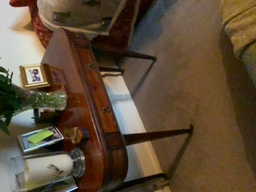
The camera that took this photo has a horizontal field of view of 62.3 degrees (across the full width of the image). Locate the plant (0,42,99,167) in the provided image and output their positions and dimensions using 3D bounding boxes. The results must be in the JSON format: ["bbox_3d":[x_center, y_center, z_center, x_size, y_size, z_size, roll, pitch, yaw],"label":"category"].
[{"bbox_3d":[-0.510,0.050,1.080,0.380,0.500,0.460,-46,55,40],"label":"plant"}]
